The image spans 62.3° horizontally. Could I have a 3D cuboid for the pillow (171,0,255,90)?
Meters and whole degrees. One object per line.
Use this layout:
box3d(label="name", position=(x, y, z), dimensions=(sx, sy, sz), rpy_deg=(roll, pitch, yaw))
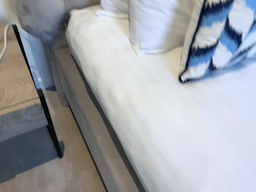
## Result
box3d(label="pillow", position=(0.350, -0.270, 0.570), dimensions=(0.400, 0.380, 0.170), rpy_deg=(-18, 39, -25))
